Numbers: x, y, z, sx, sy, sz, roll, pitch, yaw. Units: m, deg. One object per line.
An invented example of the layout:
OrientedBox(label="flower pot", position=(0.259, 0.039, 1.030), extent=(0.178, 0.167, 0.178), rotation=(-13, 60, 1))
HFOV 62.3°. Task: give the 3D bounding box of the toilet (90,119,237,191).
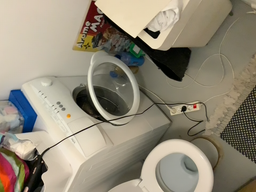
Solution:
OrientedBox(label="toilet", position=(0.170, 0.540, 1.210), extent=(0.360, 0.800, 0.600), rotation=(47, 122, 24))
